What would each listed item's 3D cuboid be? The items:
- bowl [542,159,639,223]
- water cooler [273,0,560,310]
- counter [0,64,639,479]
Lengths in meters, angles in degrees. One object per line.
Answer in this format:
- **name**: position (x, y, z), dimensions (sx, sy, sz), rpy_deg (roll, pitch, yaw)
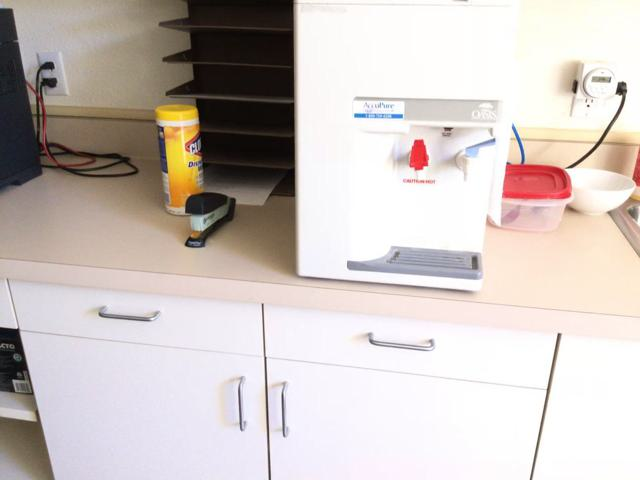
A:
- **bowl**: position (0.580, -0.110, 1.240), dimensions (0.160, 0.060, 0.210), rpy_deg (6, 24, 10)
- **water cooler**: position (0.150, -0.200, 1.000), dimensions (0.360, 0.450, 0.410), rpy_deg (6, 24, 10)
- **counter**: position (-0.030, -0.040, 1.200), dimensions (2.940, 0.440, 0.720), rpy_deg (6, 24, 10)
